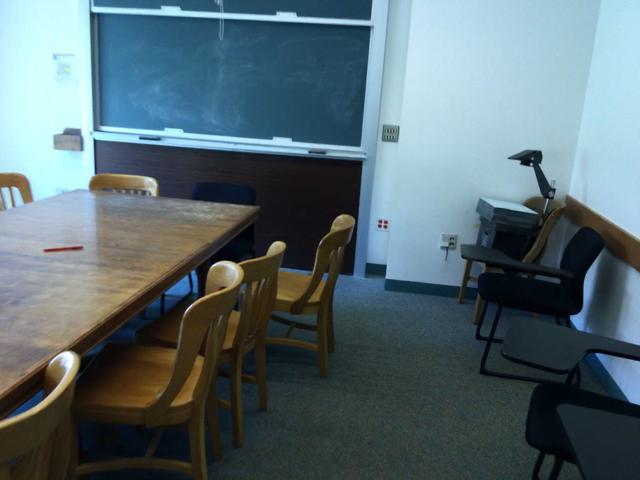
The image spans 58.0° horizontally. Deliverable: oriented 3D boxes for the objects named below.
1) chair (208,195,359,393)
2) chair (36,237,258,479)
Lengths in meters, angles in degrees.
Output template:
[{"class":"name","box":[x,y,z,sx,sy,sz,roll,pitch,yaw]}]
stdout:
[{"class":"chair","box":[-0.180,0.260,3.120,0.650,0.870,0.520,8,12,4]},{"class":"chair","box":[-0.610,0.500,2.130,0.580,0.860,0.540,8,12,4]}]
